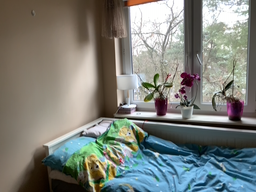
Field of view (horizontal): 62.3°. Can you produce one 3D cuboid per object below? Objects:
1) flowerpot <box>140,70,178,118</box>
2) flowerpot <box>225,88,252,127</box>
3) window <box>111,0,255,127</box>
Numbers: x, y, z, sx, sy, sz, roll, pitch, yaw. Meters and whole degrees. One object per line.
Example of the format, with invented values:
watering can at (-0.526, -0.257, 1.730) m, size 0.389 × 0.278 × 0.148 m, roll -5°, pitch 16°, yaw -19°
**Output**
flowerpot at (0.370, -0.040, 2.490) m, size 0.360 × 0.500 × 0.330 m, roll 2°, pitch 10°, yaw 24°
flowerpot at (1.050, 0.100, 2.040) m, size 0.200 × 0.330 × 0.240 m, roll 2°, pitch 10°, yaw 23°
window at (0.620, -0.490, 2.200) m, size 1.690 × 1.530 × 0.080 m, roll 2°, pitch 10°, yaw 24°
